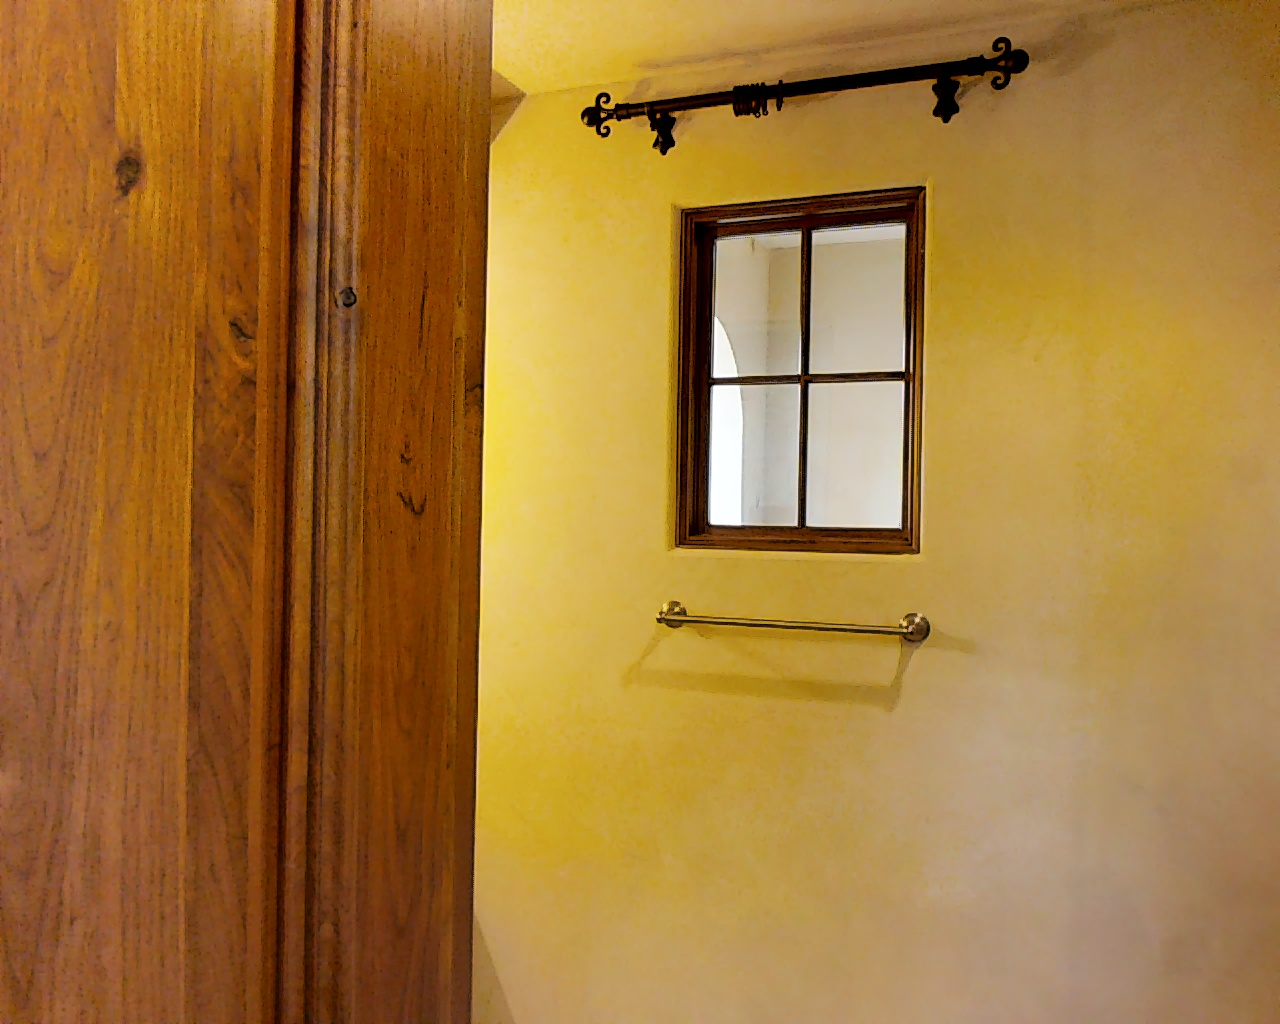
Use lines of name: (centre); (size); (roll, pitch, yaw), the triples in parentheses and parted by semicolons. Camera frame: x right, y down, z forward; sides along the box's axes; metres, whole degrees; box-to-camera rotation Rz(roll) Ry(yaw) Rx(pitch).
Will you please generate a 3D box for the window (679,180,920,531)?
window: (0.390, -0.370, 2.660); (0.570, 0.820, 0.100); (1, -1, 23)
